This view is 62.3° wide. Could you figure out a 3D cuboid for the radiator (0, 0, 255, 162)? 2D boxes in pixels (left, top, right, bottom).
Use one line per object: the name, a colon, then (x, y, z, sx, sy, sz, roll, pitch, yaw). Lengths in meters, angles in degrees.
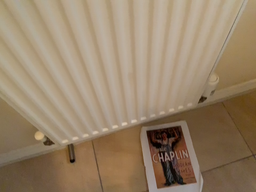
radiator: (-0.020, -0.040, 0.530, 0.570, 0.740, 0.080, -15, 61, -6)
